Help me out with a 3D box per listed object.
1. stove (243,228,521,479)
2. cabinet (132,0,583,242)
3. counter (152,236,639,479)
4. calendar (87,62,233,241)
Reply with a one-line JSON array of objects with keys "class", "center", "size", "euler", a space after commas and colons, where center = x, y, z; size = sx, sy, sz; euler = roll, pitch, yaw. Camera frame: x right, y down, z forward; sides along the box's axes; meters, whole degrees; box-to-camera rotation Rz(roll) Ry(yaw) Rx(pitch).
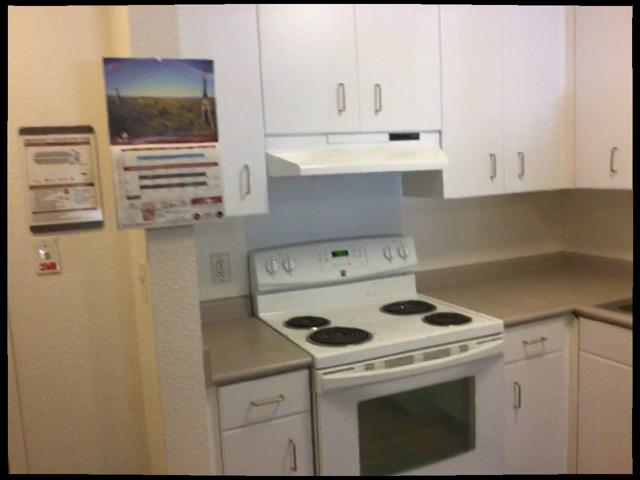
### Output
[{"class": "stove", "center": [0.220, 0.611, 2.270], "size": [0.739, 1.172, 0.780], "euler": [-8, 10, -23]}, {"class": "cabinet", "center": [0.260, -0.621, 2.370], "size": [1.857, 0.982, 0.380], "euler": [-8, 10, -24]}, {"class": "counter", "center": [0.709, 0.321, 1.910], "size": [2.157, 0.210, 1.839], "euler": [-8, 10, -24]}, {"class": "calendar", "center": [-0.419, -0.240, 1.540], "size": [0.320, 0.441, 0.090], "euler": [-8, 10, -24]}]
